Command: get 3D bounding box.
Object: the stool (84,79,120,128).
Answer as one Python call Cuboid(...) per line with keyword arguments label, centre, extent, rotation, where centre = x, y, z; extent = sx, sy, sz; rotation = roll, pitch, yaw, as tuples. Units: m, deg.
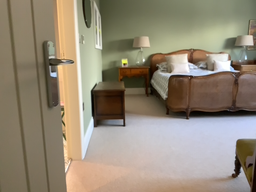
Cuboid(label="stool", centre=(-0.360, 0.070, 3.280), extent=(0.460, 0.530, 0.940), rotation=(0, 12, -2))
